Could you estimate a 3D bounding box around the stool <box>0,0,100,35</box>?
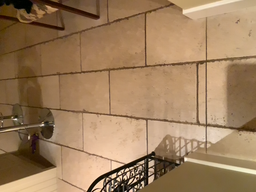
[{"bbox_3d":[-0.740,-0.880,1.850,0.670,0.730,0.450,3,94,39],"label":"stool"}]
